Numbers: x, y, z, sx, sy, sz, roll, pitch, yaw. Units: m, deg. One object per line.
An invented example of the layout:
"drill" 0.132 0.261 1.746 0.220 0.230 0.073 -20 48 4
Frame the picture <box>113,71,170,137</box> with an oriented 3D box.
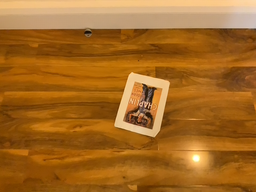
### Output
"picture" 0.070 0.030 1.010 0.220 0.010 0.290 12 69 5
